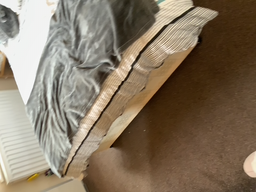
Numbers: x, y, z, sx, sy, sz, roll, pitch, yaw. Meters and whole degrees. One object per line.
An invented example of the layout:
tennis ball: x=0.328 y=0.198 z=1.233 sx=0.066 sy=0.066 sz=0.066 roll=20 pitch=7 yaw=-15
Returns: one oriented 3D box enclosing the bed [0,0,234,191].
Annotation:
bed: x=-0.570 y=-0.550 z=1.710 sx=1.590 sy=0.600 sz=1.990 roll=-49 pitch=62 yaw=39
